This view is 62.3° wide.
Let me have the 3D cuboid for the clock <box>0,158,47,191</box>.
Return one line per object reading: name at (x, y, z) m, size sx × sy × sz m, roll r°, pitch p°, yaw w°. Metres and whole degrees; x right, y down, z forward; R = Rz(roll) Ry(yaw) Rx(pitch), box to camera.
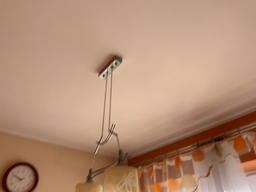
clock at (-0.960, 0.780, 1.950) m, size 0.350 × 0.340 × 0.060 m, roll 21°, pitch -38°, yaw -29°
